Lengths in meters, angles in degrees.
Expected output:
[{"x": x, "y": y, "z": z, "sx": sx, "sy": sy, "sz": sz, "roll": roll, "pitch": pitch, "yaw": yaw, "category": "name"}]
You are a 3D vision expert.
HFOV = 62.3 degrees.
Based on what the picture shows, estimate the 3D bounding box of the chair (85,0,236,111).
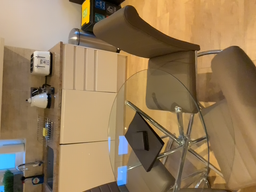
[{"x": 0.270, "y": -0.190, "z": 1.510, "sx": 0.450, "sy": 1.010, "sz": 0.560, "roll": 2, "pitch": 89, "yaw": 55, "category": "chair"}]

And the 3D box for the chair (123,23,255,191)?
[{"x": 0.600, "y": 0.160, "z": 1.020, "sx": 0.600, "sy": 1.010, "sz": 0.470, "roll": -44, "pitch": 53, "yaw": 45, "category": "chair"}]
